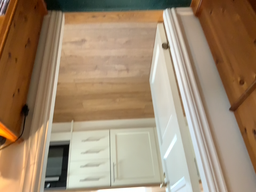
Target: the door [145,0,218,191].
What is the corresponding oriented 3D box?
[{"bbox_3d":[0.300,0.470,1.340,0.060,2.060,0.960,-3,149,-3],"label":"door"}]
